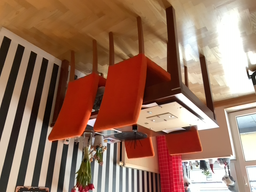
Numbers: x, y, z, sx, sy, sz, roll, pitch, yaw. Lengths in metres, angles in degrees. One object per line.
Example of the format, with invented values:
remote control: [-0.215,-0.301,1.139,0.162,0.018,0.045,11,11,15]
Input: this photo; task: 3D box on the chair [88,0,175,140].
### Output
chair: [0.050,-0.180,1.800,0.410,0.950,0.580,-16,151,31]

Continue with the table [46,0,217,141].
table: [0.010,-0.090,2.190,1.380,0.780,0.880,-17,150,33]

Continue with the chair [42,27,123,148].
chair: [-0.380,-0.050,2.060,0.410,0.960,0.580,-14,152,28]
